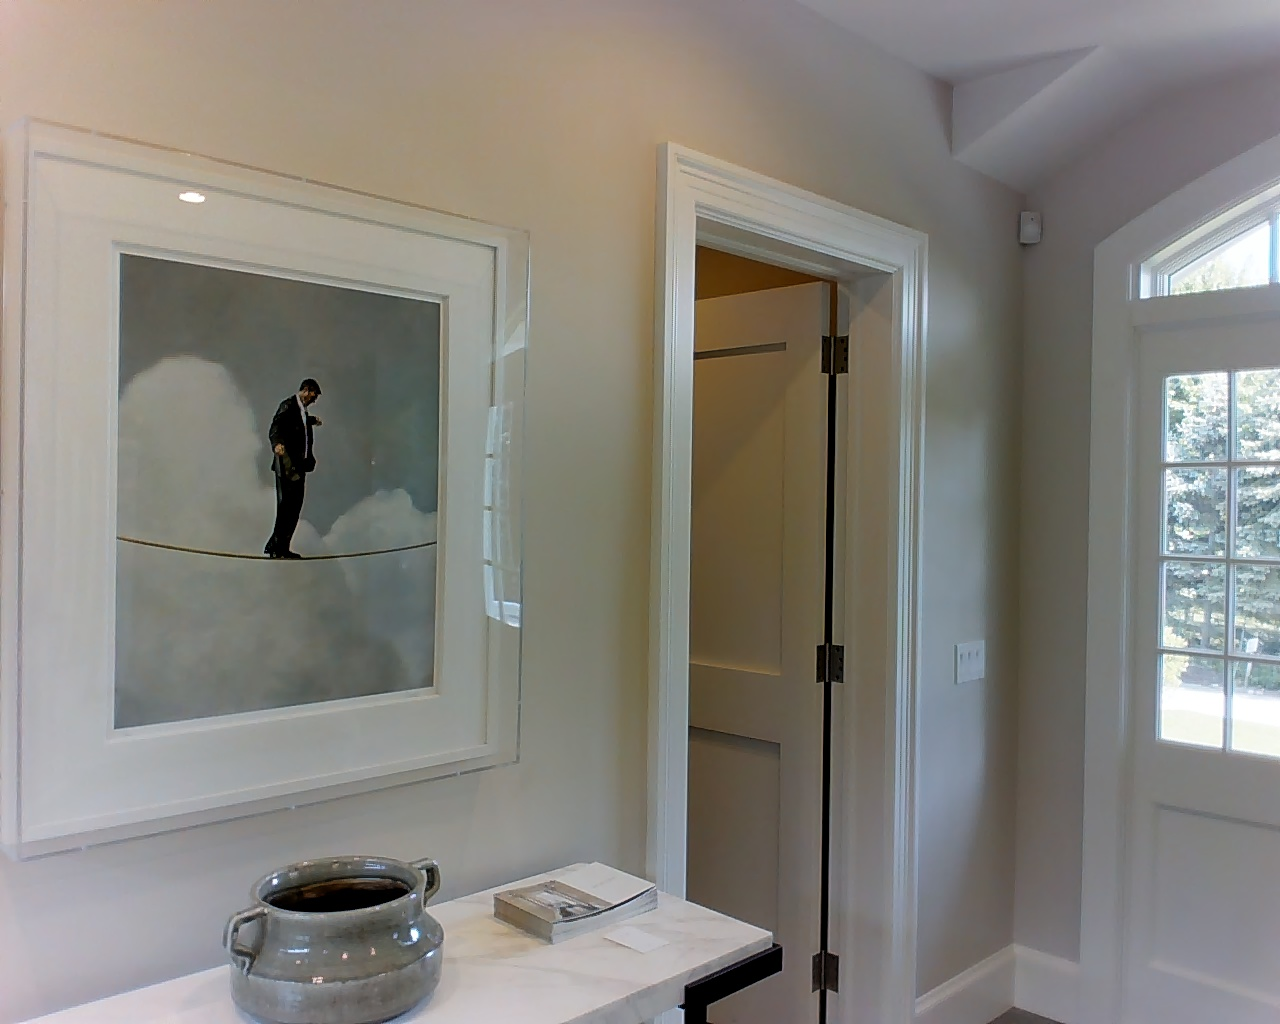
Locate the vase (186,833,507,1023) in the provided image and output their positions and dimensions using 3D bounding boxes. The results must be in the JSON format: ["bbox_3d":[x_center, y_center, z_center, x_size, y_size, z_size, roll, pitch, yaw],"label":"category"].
[{"bbox_3d":[-0.410,0.590,1.500,0.320,0.150,0.310,2,1,45],"label":"vase"}]

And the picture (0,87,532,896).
[{"bbox_3d":[-0.520,-0.020,1.650,0.830,1.010,0.060,1,1,-44],"label":"picture"}]
